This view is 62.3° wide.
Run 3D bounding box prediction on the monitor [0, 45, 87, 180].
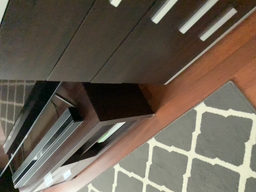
[{"bbox_3d":[-0.960,0.270,1.190,1.480,0.880,0.060,-46,62,32],"label":"monitor"}]
